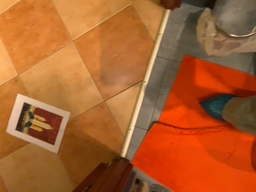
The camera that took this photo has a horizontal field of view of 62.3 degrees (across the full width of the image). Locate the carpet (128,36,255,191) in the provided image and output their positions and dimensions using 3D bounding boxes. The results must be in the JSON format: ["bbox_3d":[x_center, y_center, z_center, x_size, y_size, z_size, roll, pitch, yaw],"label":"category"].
[{"bbox_3d":[0.560,0.250,0.880,0.920,0.040,0.670,27,93,8],"label":"carpet"}]
